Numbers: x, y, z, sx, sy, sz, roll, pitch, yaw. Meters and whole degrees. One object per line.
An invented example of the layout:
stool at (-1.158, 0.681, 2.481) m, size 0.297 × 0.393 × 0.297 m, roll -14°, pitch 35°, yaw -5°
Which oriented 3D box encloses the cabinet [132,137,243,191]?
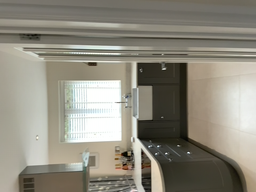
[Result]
cabinet at (0.600, 0.880, 2.700) m, size 1.350 × 0.890 × 0.400 m, roll -173°, pitch 82°, yaw -81°

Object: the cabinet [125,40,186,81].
cabinet at (0.440, -0.580, 3.640) m, size 0.600 × 0.890 × 0.610 m, roll -167°, pitch 76°, yaw -82°

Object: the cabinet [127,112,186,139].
cabinet at (0.460, 0.490, 3.670) m, size 0.600 × 0.870 × 0.330 m, roll -167°, pitch 76°, yaw -82°

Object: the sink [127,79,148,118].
sink at (0.150, 0.030, 3.610) m, size 0.600 × 0.240 × 0.600 m, roll -167°, pitch 76°, yaw -82°
